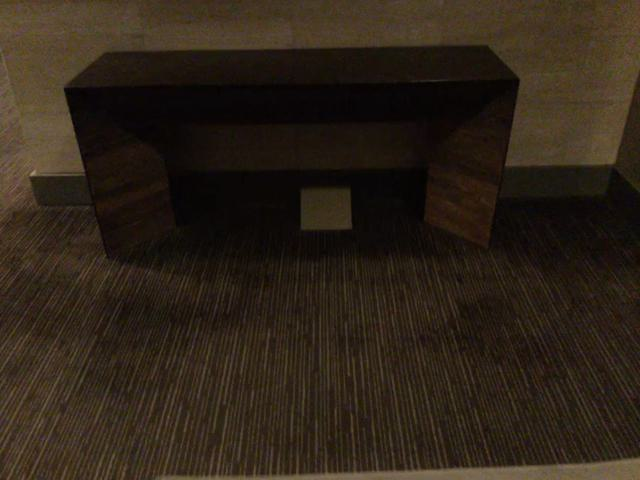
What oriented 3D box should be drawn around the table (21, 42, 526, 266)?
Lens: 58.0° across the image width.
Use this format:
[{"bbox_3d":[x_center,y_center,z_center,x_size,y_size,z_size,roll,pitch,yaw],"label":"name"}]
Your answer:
[{"bbox_3d":[-0.150,-0.360,2.320,1.680,0.720,0.540,-1,26,0],"label":"table"}]
